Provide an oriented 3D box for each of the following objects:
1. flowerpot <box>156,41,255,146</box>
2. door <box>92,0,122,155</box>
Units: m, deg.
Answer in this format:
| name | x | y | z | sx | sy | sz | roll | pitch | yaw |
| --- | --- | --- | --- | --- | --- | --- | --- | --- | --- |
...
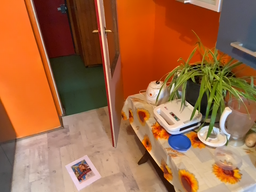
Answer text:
| name | x | y | z | sx | sy | sz | roll | pitch | yaw |
| --- | --- | --- | --- | --- | --- | --- | --- | --- | --- |
| flowerpot | 0.480 | -0.040 | 1.290 | 0.480 | 0.400 | 0.400 | -12 | 35 | -14 |
| door | -0.160 | -0.450 | 1.830 | 0.070 | 2.000 | 0.710 | -1 | 34 | 3 |
